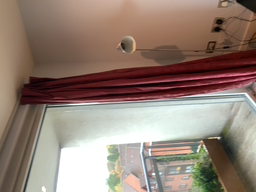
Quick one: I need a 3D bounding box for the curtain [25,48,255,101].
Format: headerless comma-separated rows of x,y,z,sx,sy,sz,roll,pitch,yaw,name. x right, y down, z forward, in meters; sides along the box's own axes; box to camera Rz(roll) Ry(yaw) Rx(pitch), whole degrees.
0.280,-0.210,1.920,0.270,2.180,0.300,-100,9,-51,curtain
